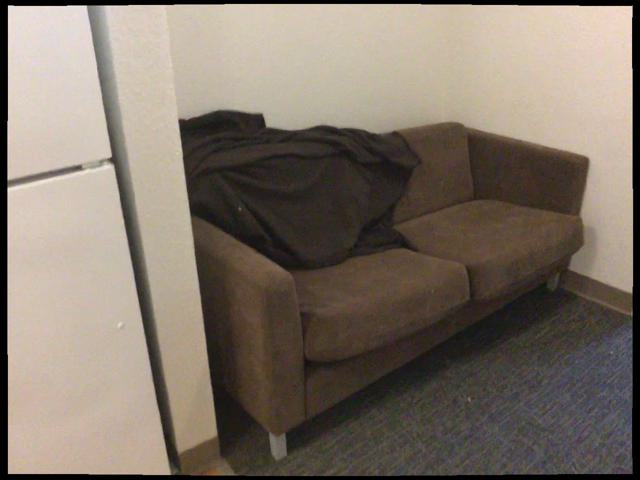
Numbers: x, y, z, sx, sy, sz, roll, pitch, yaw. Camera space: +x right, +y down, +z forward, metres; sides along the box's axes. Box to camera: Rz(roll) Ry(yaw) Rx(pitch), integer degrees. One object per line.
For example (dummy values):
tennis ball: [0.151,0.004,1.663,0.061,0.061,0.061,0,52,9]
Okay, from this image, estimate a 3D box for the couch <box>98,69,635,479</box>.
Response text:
couch: [0.240,-0.030,2.320,1.758,0.941,0.980,-20,32,-33]
